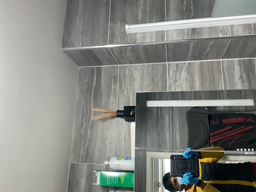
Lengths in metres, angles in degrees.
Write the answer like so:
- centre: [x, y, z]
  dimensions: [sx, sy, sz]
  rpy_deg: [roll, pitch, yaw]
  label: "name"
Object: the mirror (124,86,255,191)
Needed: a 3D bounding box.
- centre: [0.380, 0.430, 1.060]
  dimensions: [0.040, 0.810, 0.980]
  rpy_deg: [55, -144, -70]
  label: "mirror"
